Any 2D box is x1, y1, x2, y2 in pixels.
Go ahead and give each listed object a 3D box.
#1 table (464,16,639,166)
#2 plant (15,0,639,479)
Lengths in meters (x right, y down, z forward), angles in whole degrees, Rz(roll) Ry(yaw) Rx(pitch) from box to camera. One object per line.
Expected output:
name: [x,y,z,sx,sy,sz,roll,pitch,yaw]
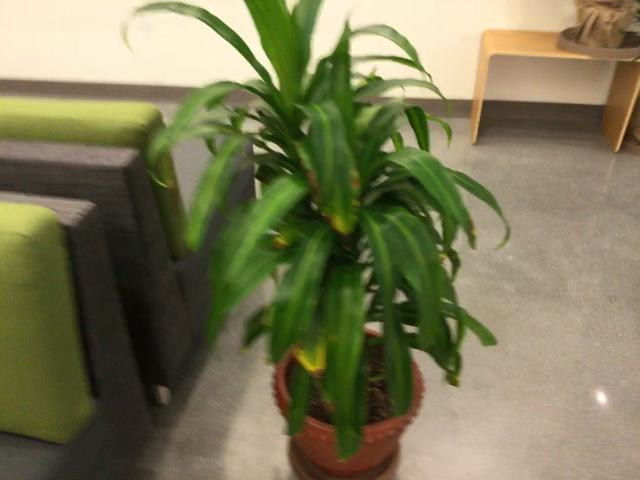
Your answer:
table: [1.050,-0.670,2.560,0.730,0.510,0.430,4,35,8]
plant: [0.040,0.040,1.120,0.620,1.140,0.600,4,35,8]
